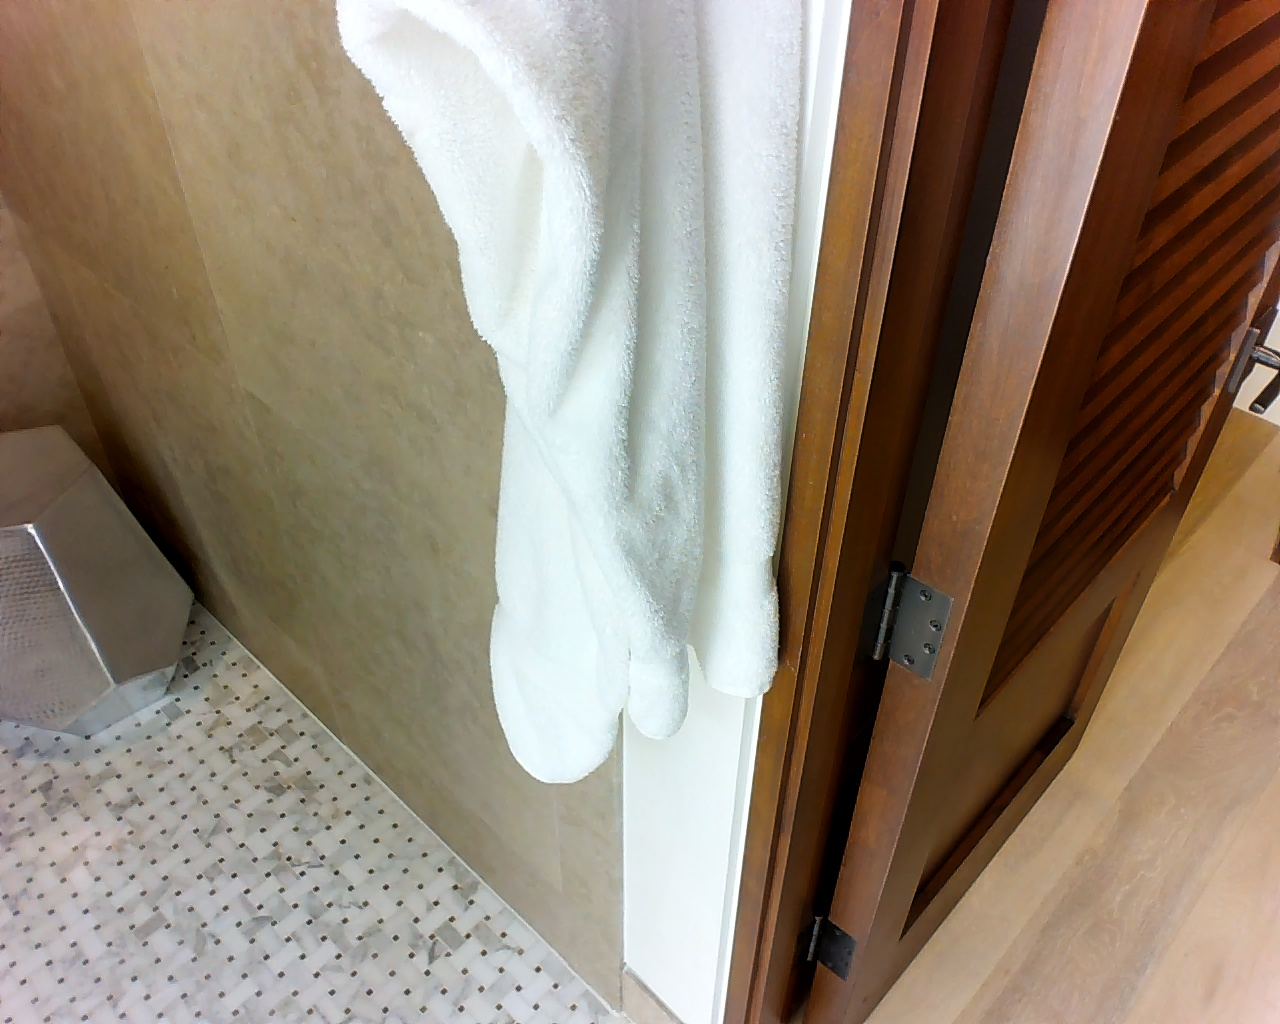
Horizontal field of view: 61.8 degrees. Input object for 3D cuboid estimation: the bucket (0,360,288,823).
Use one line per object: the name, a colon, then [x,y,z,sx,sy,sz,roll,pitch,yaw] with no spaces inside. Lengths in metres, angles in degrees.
bucket: [-1.060,0.130,2.000,0.530,0.530,0.450,32,51,31]
